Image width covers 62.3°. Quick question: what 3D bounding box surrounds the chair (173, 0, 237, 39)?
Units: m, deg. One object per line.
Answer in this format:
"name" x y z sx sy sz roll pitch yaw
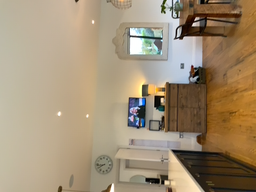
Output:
"chair" 1.240 -1.290 3.550 0.460 0.910 0.460 68 -155 -78
